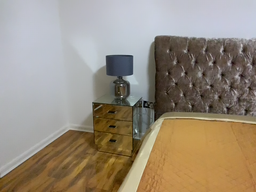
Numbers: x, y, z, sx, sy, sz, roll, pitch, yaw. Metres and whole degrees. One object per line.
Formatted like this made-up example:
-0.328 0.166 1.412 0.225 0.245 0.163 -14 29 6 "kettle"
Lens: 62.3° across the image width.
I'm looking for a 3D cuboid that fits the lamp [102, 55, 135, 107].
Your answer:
-0.100 -0.190 2.490 0.280 0.550 0.290 5 17 18 "lamp"
